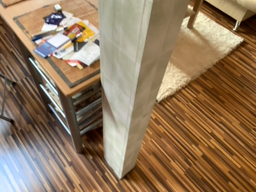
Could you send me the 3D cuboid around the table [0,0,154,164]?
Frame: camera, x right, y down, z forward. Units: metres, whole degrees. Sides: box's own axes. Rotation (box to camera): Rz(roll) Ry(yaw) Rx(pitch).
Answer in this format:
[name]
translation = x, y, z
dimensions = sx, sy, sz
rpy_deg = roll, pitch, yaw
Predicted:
[table]
translation = -0.450, -0.280, 1.350
dimensions = 0.410, 0.790, 1.170
rpy_deg = -31, 64, -24
